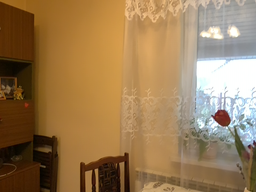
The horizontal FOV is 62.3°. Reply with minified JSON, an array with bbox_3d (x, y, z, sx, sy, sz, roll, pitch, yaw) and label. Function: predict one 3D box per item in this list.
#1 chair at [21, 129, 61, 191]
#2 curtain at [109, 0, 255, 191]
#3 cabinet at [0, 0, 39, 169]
[{"bbox_3d":[-1.030,0.860,2.490,0.500,0.870,0.130,2,2,26],"label":"chair"},{"bbox_3d":[0.880,0.040,1.440,2.140,2.780,0.270,2,2,25],"label":"curtain"},{"bbox_3d":[-1.340,-0.110,1.960,0.370,1.560,0.910,3,3,27],"label":"cabinet"}]
